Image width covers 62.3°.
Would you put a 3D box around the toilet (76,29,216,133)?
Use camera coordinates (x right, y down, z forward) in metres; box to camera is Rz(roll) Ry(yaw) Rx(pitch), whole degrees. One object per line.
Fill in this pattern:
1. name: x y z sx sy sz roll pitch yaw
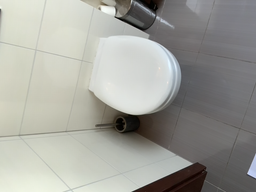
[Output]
1. toilet: 0.090 -0.090 1.150 0.530 0.440 0.360 23 101 38
